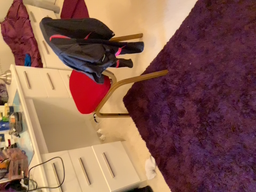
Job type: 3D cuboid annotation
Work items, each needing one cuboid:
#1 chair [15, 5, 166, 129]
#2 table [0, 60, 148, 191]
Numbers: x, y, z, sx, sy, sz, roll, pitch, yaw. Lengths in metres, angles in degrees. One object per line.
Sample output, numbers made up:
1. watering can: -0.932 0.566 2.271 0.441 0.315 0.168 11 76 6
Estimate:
1. chair: -0.270 -0.160 1.530 0.580 0.800 0.460 -51 55 35
2. table: -0.530 0.310 1.830 0.430 0.780 1.270 -54 54 33
